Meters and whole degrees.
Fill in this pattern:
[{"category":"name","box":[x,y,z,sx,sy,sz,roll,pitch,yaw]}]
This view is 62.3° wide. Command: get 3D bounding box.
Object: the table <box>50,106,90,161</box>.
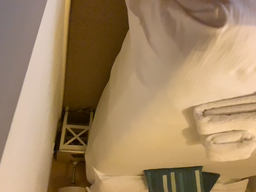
[{"category":"table","box":[-0.590,0.390,2.170,0.320,0.450,0.320,8,149,-16]}]
